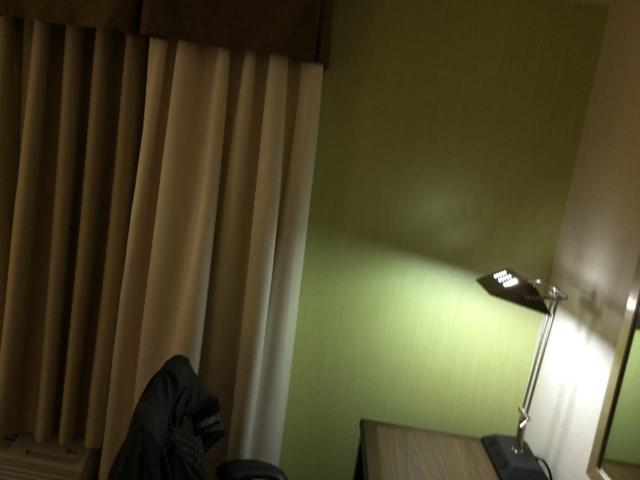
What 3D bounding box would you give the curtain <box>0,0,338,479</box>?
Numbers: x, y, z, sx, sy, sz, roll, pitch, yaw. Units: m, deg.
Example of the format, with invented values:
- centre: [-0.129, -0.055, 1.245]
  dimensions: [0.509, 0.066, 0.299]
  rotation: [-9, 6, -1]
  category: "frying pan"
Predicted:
- centre: [-1.160, 0.060, 1.980]
  dimensions: [2.180, 2.270, 0.360]
  rotation: [7, 8, -4]
  category: "curtain"
